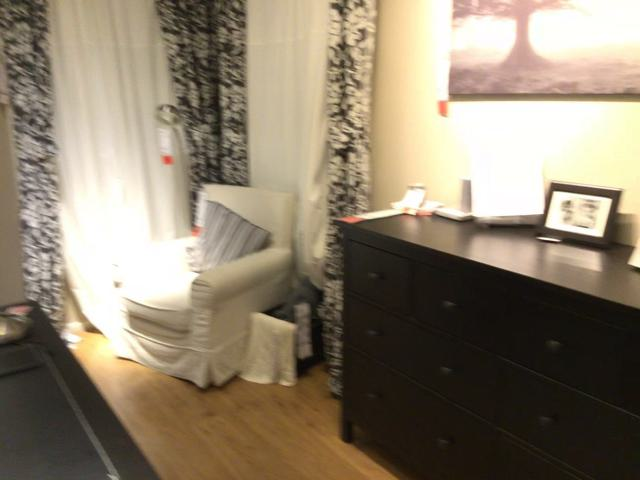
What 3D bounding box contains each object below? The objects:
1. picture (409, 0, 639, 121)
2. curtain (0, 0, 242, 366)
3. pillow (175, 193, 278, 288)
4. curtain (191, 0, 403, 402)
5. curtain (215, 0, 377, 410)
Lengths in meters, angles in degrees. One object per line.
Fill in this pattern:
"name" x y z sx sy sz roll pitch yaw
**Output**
"picture" 0.850 -0.690 1.620 0.120 0.690 1.530 -9 17 -35
"curtain" -1.090 -0.600 3.160 1.190 2.280 0.470 -9 17 -35
"pillow" -0.530 -0.020 3.230 0.350 0.390 0.540 -9 17 -35
"curtain" -0.200 -0.440 3.030 0.330 2.110 1.380 -9 17 -35
"curtain" -0.200 -0.480 3.140 0.080 2.440 1.370 -9 17 -35
